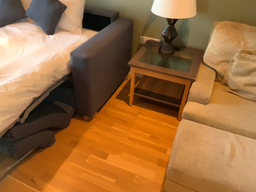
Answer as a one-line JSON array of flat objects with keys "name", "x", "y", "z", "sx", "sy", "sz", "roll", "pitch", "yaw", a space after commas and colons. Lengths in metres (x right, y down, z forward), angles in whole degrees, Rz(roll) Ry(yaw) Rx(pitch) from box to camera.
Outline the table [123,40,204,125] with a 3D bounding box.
[{"name": "table", "x": 0.370, "y": -0.180, "z": 2.230, "sx": 0.620, "sy": 0.510, "sz": 0.620, "roll": 18, "pitch": 39, "yaw": 17}]
